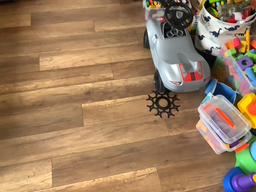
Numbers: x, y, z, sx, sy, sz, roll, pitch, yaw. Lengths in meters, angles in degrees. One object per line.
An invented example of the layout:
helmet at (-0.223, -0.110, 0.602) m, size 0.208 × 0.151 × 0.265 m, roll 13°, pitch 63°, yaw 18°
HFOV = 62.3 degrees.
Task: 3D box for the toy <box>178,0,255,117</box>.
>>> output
toy at (0.700, -0.330, 1.480) m, size 0.370 × 0.460 × 0.790 m, roll -7°, pitch 60°, yaw -9°

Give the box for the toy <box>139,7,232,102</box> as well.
toy at (0.360, -0.320, 1.510) m, size 0.420 × 0.210 × 0.660 m, roll -7°, pitch 60°, yaw -9°
